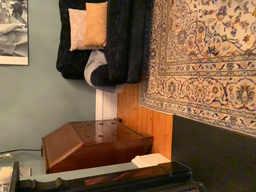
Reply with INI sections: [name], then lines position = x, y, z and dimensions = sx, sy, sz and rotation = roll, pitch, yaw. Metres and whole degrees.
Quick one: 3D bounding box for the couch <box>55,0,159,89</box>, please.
[couch]
position = -0.290, -1.080, 2.290
dimensions = 1.050, 0.820, 1.920
rotation = -165, 77, -64
